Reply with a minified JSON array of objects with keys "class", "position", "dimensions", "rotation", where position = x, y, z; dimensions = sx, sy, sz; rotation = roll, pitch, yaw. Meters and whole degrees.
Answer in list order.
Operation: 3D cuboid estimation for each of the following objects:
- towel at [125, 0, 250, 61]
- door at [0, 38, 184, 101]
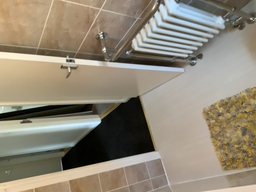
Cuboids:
[{"class":"towel","position":[0.380,-0.430,1.390],"dimensions":[0.500,0.630,0.120],"rotation":[-37,62,49]},{"class":"door","position":[-0.530,-0.140,1.630],"dimensions":[0.750,2.000,0.090],"rotation":[-34,64,51]}]
